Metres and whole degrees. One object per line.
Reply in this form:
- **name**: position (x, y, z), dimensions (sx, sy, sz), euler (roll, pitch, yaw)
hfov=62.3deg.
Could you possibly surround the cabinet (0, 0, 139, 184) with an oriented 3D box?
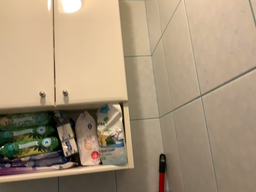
- **cabinet**: position (-0.270, -0.140, 0.840), dimensions (0.510, 0.850, 0.210), euler (-4, -13, -8)
